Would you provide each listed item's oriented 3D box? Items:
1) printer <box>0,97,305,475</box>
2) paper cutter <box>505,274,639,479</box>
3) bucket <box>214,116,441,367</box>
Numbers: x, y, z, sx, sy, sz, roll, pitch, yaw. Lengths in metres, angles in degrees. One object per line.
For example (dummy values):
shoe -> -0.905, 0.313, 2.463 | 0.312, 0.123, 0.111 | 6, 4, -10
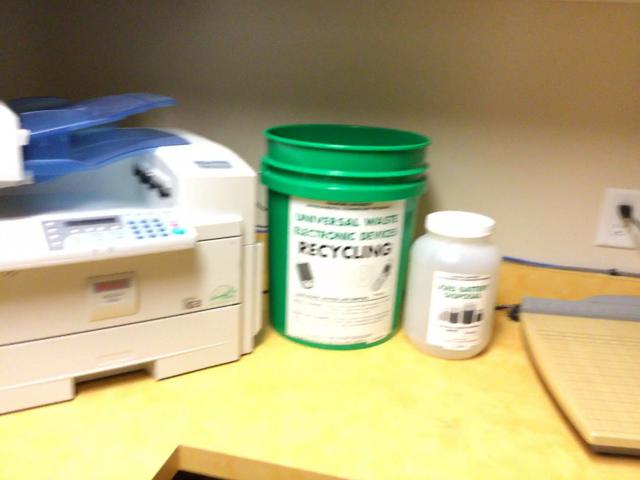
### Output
printer -> -0.350, -0.010, 0.940 | 0.500, 0.400, 0.540 | 7, 16, 13
paper cutter -> 0.520, 0.210, 0.910 | 0.400, 0.100, 0.560 | 7, 16, 13
bucket -> 0.030, -0.030, 1.110 | 0.340, 0.370, 0.350 | 7, 16, 13
